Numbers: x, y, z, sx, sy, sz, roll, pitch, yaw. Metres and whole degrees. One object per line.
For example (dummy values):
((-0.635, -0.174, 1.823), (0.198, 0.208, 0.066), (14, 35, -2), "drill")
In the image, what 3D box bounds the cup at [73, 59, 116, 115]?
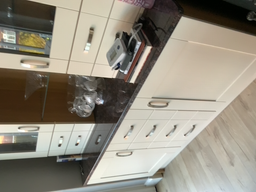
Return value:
((-0.270, -0.060, 1.610), (0.300, 0.210, 0.290), (-62, 36, 41), "cup")

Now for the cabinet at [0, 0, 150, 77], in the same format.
((-0.600, -0.440, 1.030), (0.490, 1.280, 0.350), (-62, 36, 41), "cabinet")

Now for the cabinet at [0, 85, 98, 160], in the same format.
((-0.950, 0.220, 1.680), (0.520, 1.280, 0.350), (-62, 36, 41), "cabinet")
